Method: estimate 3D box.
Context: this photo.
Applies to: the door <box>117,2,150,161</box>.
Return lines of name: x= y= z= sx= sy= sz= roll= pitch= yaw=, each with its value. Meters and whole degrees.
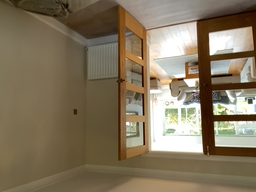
door: x=0.100 y=-0.170 z=3.040 sx=0.090 sy=1.990 sz=0.900 roll=-3 pitch=173 yaw=26
